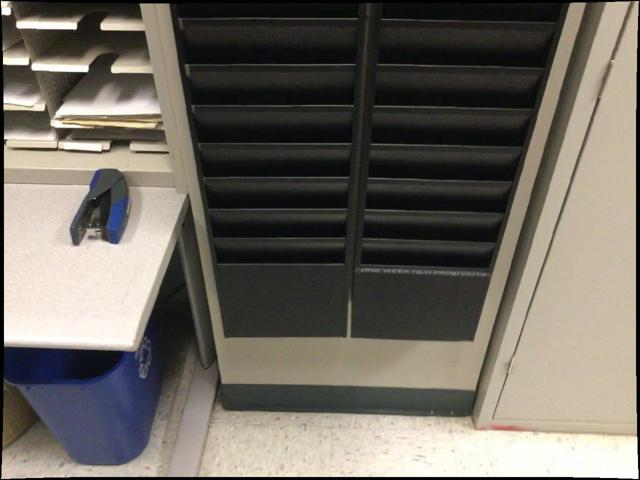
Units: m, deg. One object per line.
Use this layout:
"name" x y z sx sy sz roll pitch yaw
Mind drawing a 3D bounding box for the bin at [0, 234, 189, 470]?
"bin" -0.529 0.271 1.400 0.269 0.400 0.390 2 44 3
